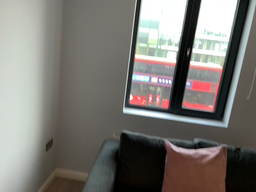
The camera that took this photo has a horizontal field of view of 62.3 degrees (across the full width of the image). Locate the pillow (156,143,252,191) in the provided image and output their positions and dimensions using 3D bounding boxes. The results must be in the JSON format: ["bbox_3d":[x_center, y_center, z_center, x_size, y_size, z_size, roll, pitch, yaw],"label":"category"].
[{"bbox_3d":[0.550,0.620,1.660,0.590,0.520,0.170,-2,37,-2],"label":"pillow"}]

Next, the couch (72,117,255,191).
[{"bbox_3d":[0.540,0.850,1.700,1.670,0.820,1.140,8,13,4],"label":"couch"}]
